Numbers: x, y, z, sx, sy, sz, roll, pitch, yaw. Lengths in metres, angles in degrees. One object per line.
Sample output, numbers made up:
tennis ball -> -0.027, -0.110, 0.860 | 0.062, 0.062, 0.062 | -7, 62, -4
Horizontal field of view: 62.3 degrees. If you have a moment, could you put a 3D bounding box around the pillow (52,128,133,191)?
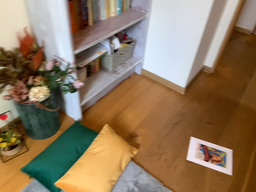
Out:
pillow -> -0.190, 0.430, 1.260 | 0.270, 0.140, 0.410 | 23, 46, 18

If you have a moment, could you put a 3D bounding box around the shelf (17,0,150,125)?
shelf -> -0.210, -0.730, 1.310 | 0.330, 1.790, 0.870 | 30, 48, 23

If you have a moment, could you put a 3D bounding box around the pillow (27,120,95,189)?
pillow -> -0.400, 0.350, 1.330 | 0.230, 0.120, 0.340 | 23, 46, 18

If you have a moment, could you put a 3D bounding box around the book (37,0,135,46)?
book -> -0.250, -0.650, 1.500 | 0.210, 0.290, 0.710 | 32, 49, 25
